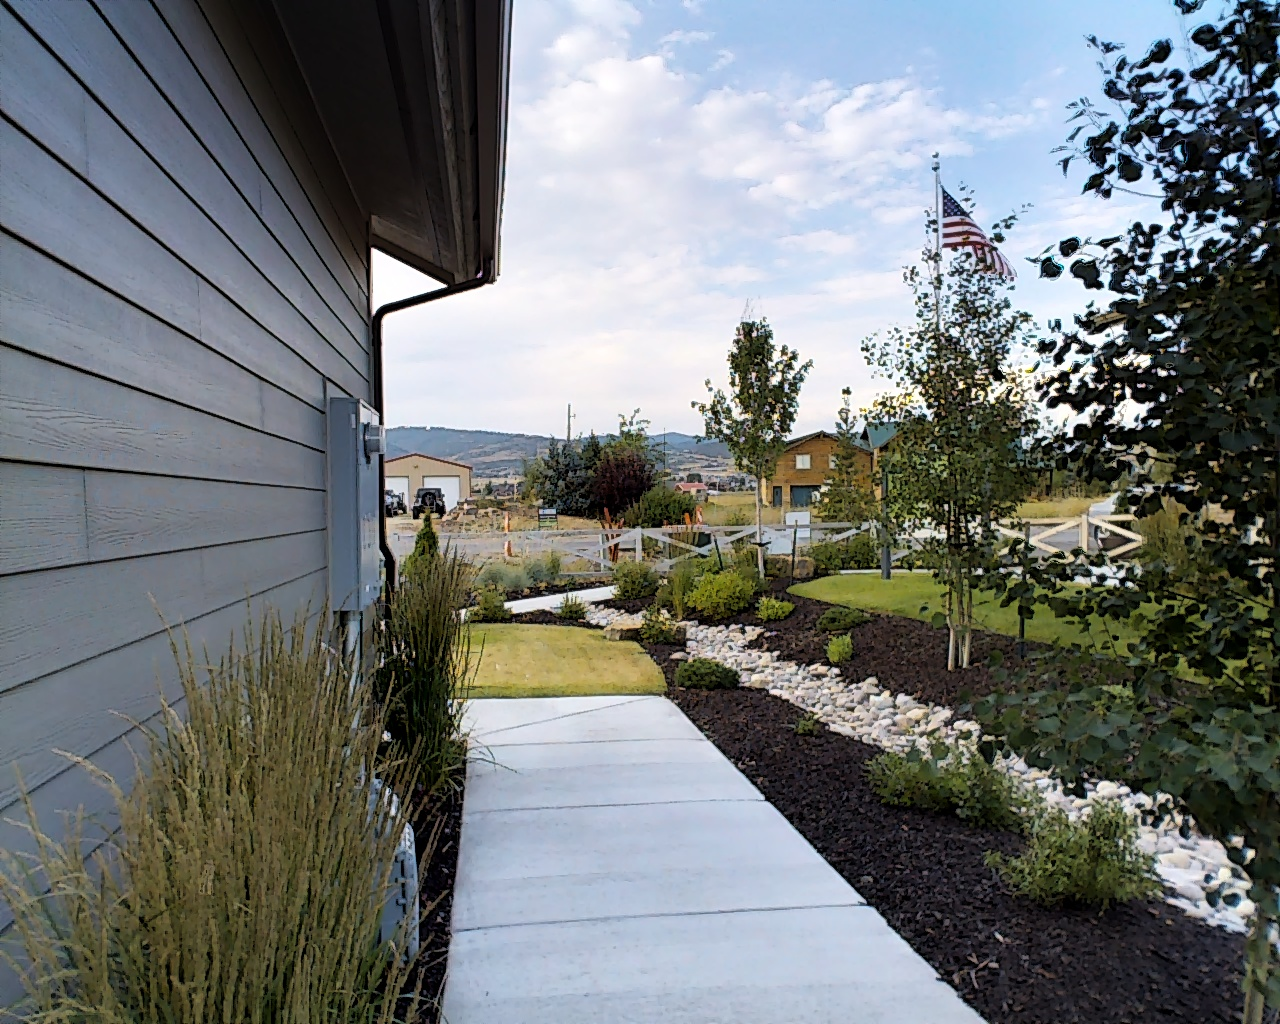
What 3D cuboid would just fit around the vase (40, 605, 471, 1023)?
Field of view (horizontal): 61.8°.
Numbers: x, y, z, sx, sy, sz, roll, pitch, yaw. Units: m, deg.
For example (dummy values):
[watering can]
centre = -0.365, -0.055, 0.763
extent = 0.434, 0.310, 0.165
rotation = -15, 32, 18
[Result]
[vase]
centre = -0.430, 0.770, 1.320
extent = 0.400, 1.270, 0.380
rotation = -1, 0, -3
